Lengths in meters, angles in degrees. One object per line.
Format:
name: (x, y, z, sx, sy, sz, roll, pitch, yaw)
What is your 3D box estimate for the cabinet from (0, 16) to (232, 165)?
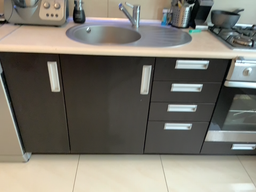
cabinet: (-0.090, -0.040, 1.540, 1.190, 0.850, 0.600, 2, 32, -4)

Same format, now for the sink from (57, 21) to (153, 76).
sink: (-0.130, -0.320, 1.350, 0.500, 0.170, 0.470, 2, 32, -4)

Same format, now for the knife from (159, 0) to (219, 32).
knife: (0.410, -0.630, 1.440, 0.330, 0.330, 0.170, 1, 32, -5)
